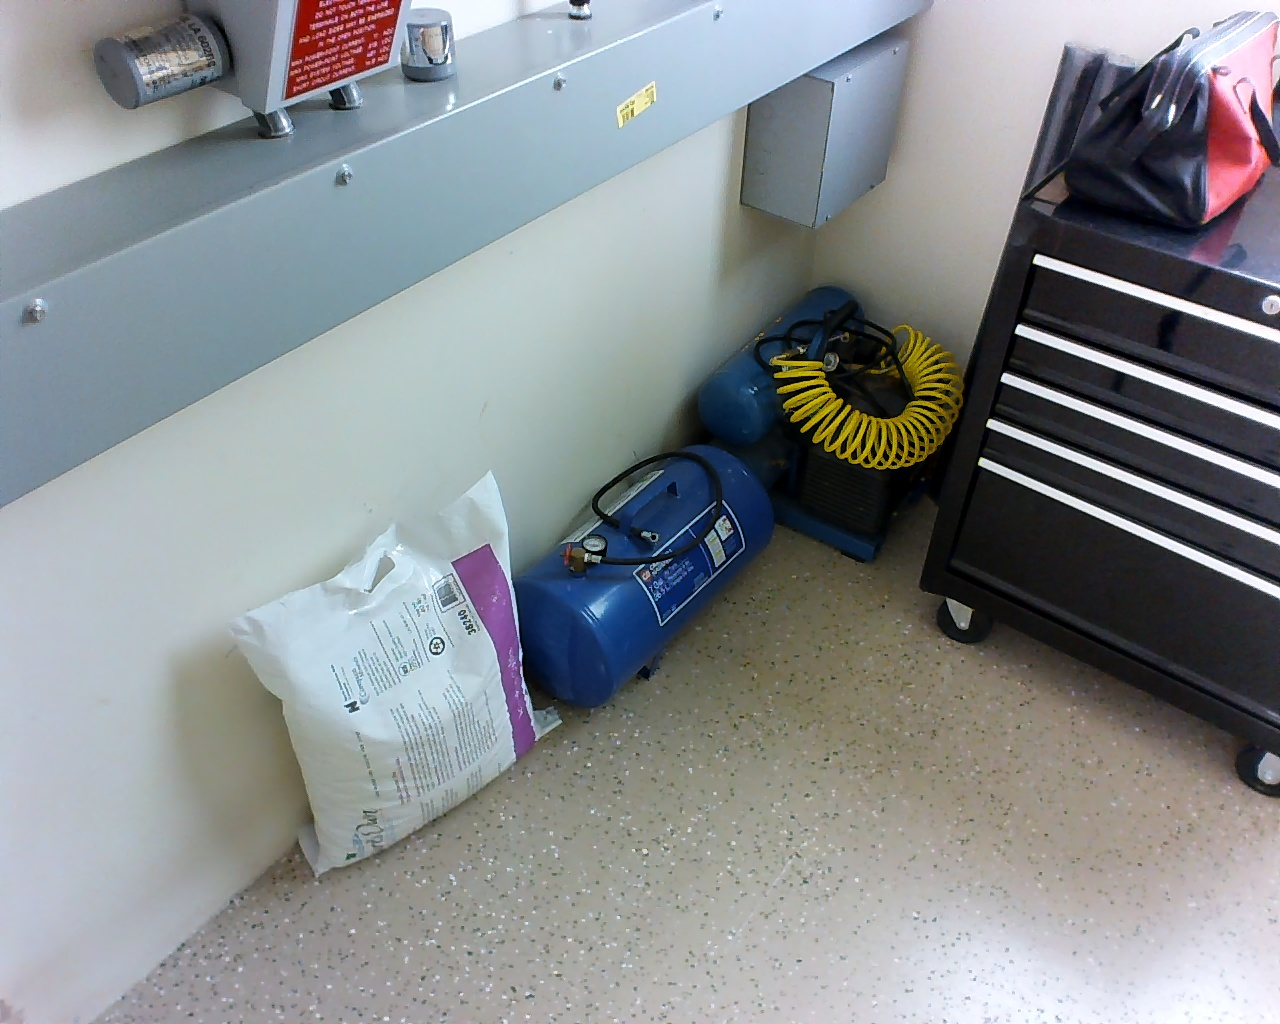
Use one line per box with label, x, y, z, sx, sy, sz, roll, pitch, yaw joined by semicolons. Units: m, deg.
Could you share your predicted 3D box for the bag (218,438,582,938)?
bag;-0.290;0.250;1.500;0.170;0.550;0.430;27;47;26
